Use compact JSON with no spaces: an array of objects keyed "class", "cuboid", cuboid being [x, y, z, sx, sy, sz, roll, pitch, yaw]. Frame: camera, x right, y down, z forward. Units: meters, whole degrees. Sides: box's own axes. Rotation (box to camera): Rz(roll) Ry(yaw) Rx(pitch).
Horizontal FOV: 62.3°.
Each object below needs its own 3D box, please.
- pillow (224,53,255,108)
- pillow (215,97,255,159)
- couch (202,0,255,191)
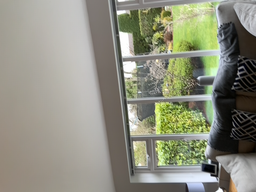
[{"class":"pillow","cuboid":[1.220,-0.160,2.140,0.180,0.420,0.490,-90,-17,-52]},{"class":"pillow","cuboid":[1.270,0.390,2.460,0.200,0.420,0.690,-85,-19,-58]},{"class":"couch","cuboid":[1.440,0.080,2.190,0.990,0.960,2.240,-81,-13,-64]}]
